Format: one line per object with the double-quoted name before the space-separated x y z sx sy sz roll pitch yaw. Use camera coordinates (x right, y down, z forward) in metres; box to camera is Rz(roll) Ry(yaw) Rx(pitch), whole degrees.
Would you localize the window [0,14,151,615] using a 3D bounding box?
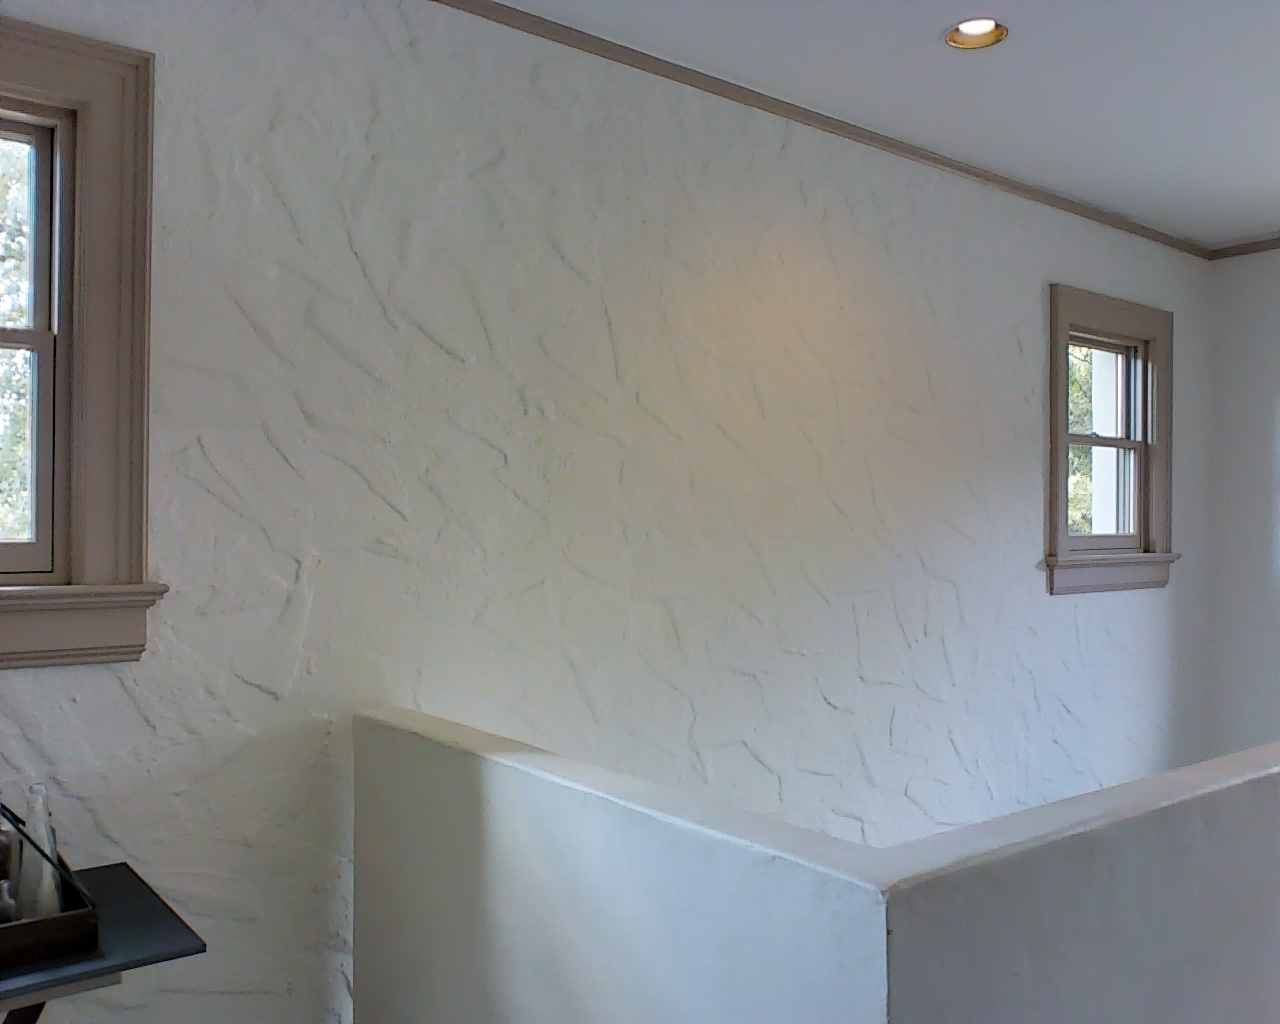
"window" -1.350 -0.360 1.900 0.860 1.090 0.150 1 0 -38
